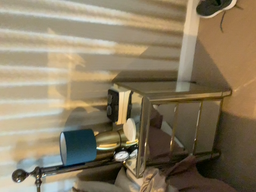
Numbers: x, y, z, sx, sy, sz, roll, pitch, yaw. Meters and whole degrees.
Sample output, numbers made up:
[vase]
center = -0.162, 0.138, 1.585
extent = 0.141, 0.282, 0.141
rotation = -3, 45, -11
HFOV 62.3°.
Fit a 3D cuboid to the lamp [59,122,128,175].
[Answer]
[lamp]
center = -0.210, 0.290, 1.250
extent = 0.230, 0.340, 0.180
rotation = 22, 111, 59
